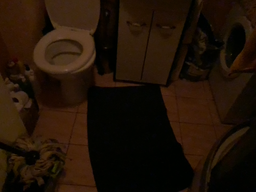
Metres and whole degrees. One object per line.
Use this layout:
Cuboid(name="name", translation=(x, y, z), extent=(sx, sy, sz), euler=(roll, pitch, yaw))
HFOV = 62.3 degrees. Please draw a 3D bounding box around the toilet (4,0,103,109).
Cuboid(name="toilet", translation=(-0.400, -0.410, 1.470), extent=(0.380, 0.780, 0.620), euler=(5, 49, -2))
